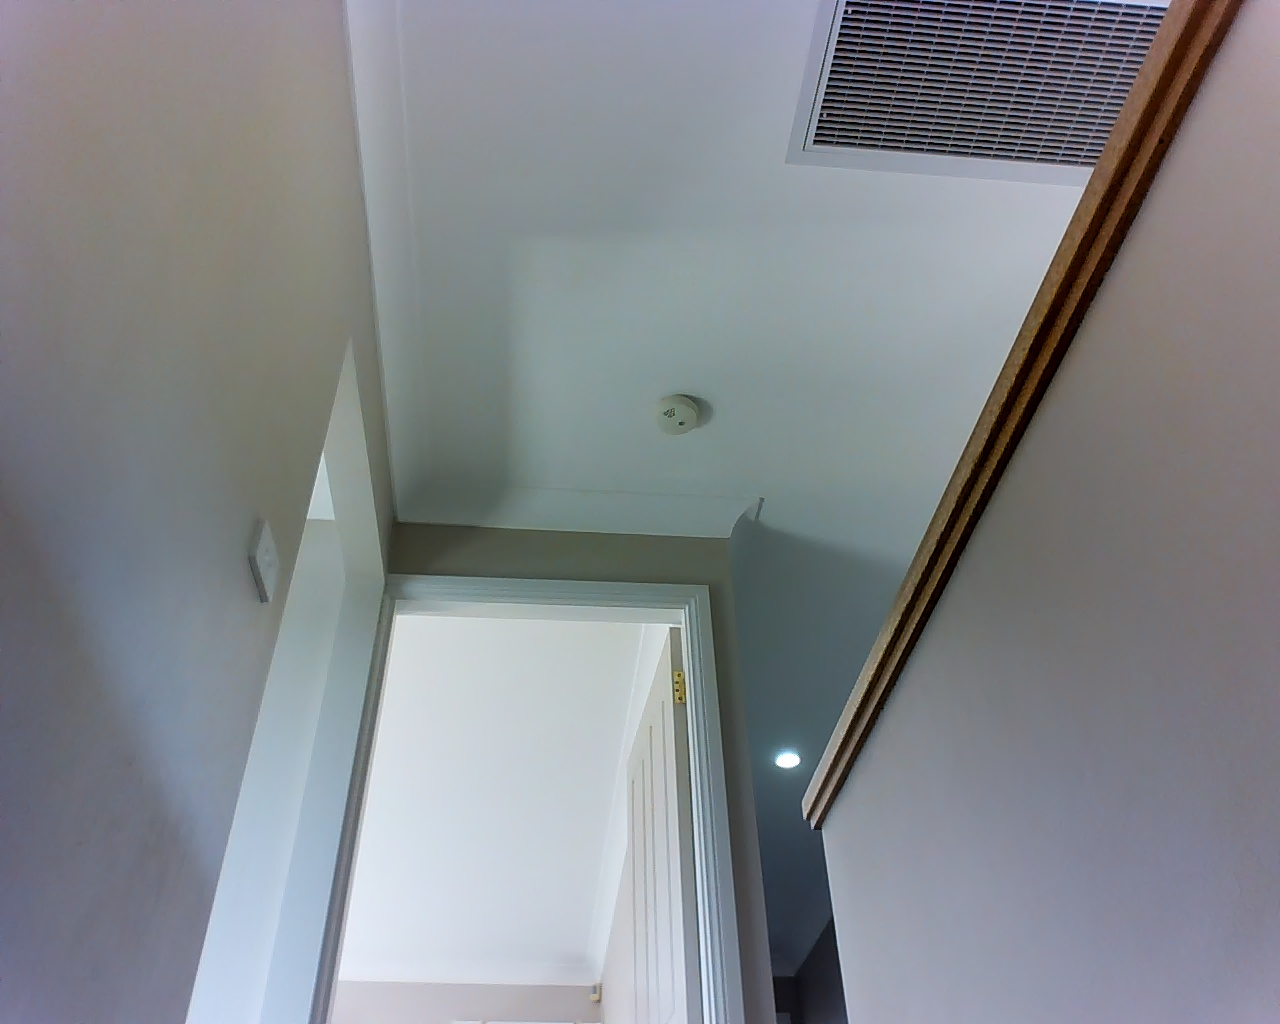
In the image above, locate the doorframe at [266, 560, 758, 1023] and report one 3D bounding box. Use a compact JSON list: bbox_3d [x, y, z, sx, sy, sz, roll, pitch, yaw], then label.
[{"bbox_3d":[-0.260,1.000,2.330,1.000,2.110,0.150,4,-42,-5],"label":"doorframe"}]
